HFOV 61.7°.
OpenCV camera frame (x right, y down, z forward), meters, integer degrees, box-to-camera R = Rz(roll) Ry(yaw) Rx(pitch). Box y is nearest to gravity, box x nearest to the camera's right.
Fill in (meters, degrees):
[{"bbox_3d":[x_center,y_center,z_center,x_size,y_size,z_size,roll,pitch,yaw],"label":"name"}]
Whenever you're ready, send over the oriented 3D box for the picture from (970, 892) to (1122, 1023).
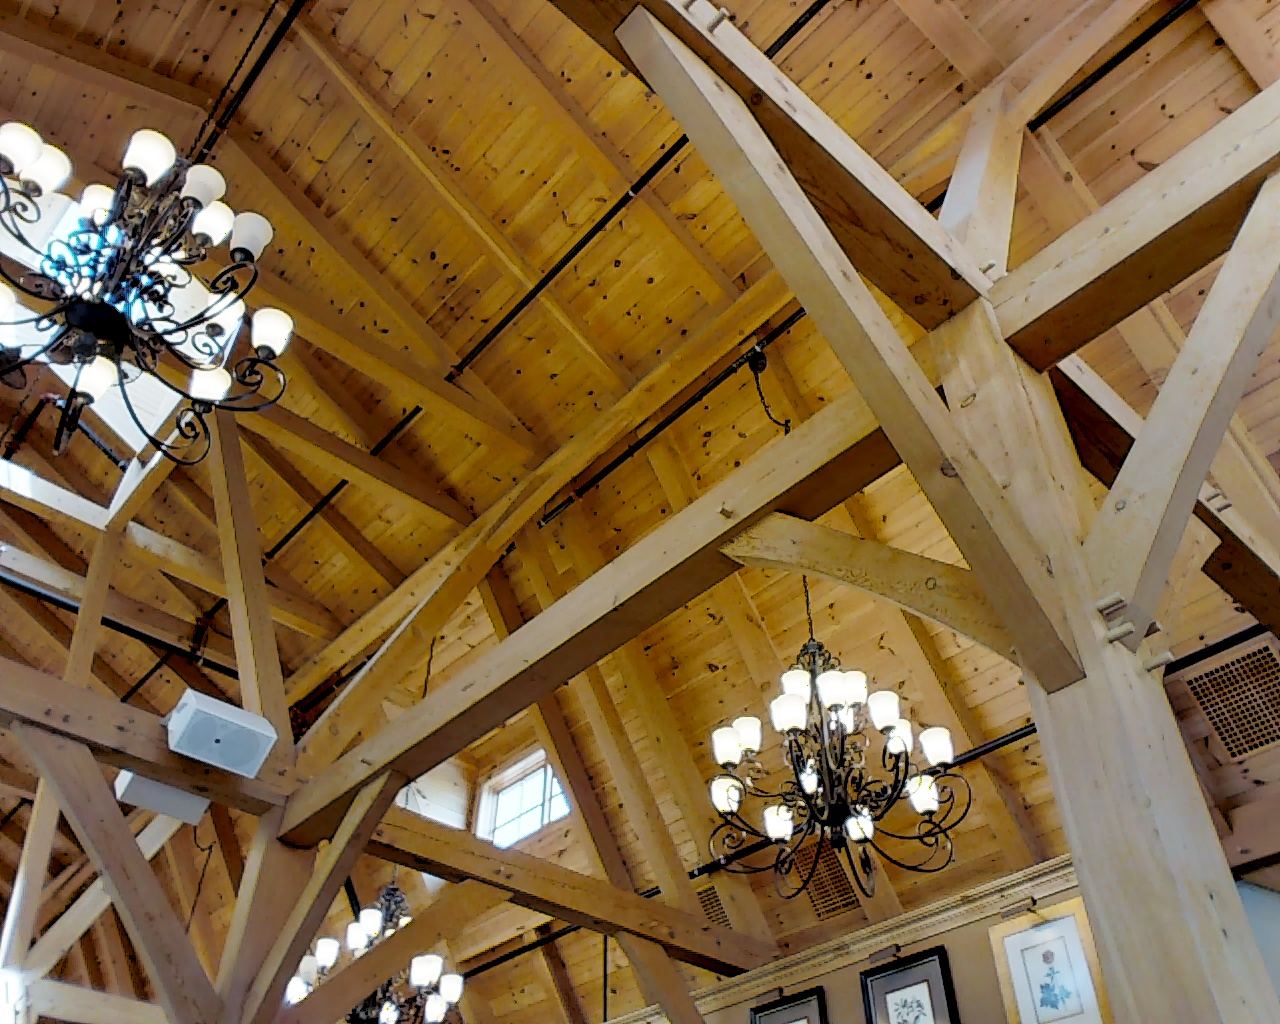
[{"bbox_3d":[2.159,2.551,5.700,0.140,0.840,0.670,32,-50,-30],"label":"picture"}]
